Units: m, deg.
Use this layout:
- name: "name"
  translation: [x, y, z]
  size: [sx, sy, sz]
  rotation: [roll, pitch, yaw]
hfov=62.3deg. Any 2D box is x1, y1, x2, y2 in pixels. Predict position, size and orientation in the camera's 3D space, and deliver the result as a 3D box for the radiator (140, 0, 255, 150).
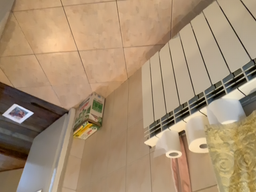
- name: "radiator"
  translation: [0.390, -0.230, 1.040]
  size: [0.190, 0.730, 0.740]
  rotation: [30, 131, -29]
